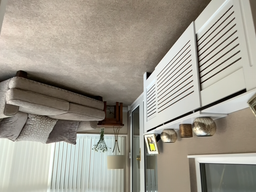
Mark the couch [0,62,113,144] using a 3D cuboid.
[{"bbox_3d":[-1.270,0.290,3.490,1.120,0.840,1.790,-12,159,36],"label":"couch"}]
